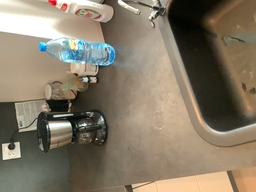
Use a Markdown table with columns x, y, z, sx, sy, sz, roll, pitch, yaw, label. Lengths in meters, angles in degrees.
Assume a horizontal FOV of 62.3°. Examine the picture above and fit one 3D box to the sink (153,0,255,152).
| x | y | z | sx | sy | sz | roll | pitch | yaw | label |
| --- | --- | --- | --- | --- | --- | --- | --- | --- | --- |
| 0.340 | -0.160 | 0.570 | 0.400 | 0.210 | 0.510 | -35 | 63 | 47 | sink |
